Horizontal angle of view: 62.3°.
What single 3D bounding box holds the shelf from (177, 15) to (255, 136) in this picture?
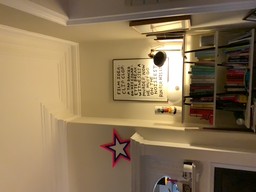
[{"bbox_3d":[1.270,-0.210,2.330,0.440,1.380,1.190,-15,-74,-72],"label":"shelf"}]
